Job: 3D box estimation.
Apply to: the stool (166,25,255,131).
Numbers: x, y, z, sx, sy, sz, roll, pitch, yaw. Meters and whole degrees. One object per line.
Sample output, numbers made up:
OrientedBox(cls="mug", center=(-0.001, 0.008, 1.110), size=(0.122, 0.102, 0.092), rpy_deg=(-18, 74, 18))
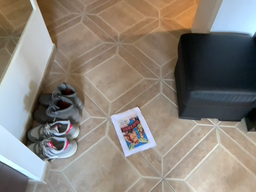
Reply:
OrientedBox(cls="stool", center=(0.520, -0.110, 1.380), size=(0.460, 0.420, 0.500), rpy_deg=(5, 58, 1))
